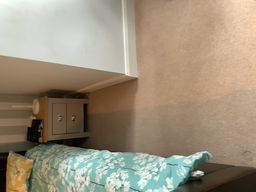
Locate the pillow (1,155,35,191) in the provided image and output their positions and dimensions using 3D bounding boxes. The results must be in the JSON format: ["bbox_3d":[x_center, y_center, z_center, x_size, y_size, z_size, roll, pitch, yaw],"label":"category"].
[{"bbox_3d":[-1.010,0.890,1.930,0.390,0.200,0.640,-15,76,50],"label":"pillow"}]
